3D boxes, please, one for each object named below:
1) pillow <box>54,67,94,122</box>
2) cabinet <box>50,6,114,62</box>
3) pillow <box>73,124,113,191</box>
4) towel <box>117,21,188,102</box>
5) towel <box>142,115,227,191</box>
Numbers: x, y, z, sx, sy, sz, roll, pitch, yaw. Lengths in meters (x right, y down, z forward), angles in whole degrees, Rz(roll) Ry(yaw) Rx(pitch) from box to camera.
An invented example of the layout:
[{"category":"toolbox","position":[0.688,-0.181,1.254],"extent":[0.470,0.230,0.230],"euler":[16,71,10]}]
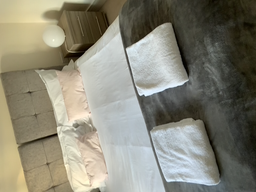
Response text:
[{"category":"pillow","position":[-0.580,-0.030,2.290],"extent":[0.120,0.280,0.560],"euler":[-21,83,36]},{"category":"cabinet","position":[-0.570,-0.750,2.600],"extent":[0.450,0.540,0.470],"euler":[-22,83,56]},{"category":"pillow","position":[-0.370,0.660,2.260],"extent":[0.140,0.260,0.660],"euler":[-16,85,32]},{"category":"towel","position":[0.110,-0.170,1.220],"extent":[0.440,0.060,0.320],"euler":[-23,83,56]},{"category":"towel","position":[0.280,0.330,1.190],"extent":[0.430,0.070,0.350],"euler":[-31,76,55]}]
